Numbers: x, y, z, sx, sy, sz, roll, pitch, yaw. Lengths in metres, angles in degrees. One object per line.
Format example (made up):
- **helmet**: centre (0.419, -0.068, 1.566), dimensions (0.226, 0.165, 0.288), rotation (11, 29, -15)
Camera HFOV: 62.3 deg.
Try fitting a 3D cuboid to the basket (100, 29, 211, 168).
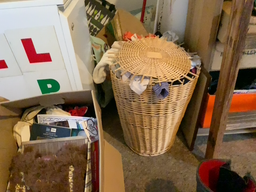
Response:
- **basket**: centre (0.130, 0.010, 1.270), dimensions (0.450, 0.630, 0.540), rotation (-1, 37, 3)
